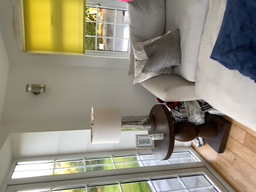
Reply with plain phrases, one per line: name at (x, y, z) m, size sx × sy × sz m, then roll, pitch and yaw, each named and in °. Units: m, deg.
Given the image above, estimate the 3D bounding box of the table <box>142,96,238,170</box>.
table at (0.580, 0.330, 2.150) m, size 0.530 × 0.690 × 0.530 m, roll -134°, pitch 46°, yaw -68°
